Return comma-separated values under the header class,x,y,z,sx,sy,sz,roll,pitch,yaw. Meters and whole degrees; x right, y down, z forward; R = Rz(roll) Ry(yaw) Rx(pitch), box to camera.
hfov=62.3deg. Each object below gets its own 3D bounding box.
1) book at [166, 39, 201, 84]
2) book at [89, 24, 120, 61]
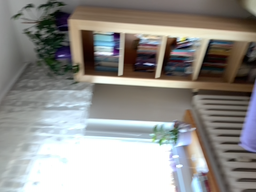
class,x,y,z,sx,sy,sz,roll,pitch,yaw
book,0.540,-0.350,2.110,0.230,0.230,0.400,-94,8,-73
book,-0.220,-0.520,2.060,0.180,0.270,0.290,-90,4,-52
